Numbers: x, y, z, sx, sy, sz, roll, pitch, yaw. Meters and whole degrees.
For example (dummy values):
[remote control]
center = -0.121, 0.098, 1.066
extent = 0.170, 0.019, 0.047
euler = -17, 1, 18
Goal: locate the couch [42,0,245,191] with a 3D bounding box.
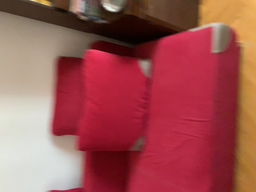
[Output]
[couch]
center = 0.050, 0.530, 1.450
extent = 0.920, 0.950, 2.020
euler = 2, 88, 52
